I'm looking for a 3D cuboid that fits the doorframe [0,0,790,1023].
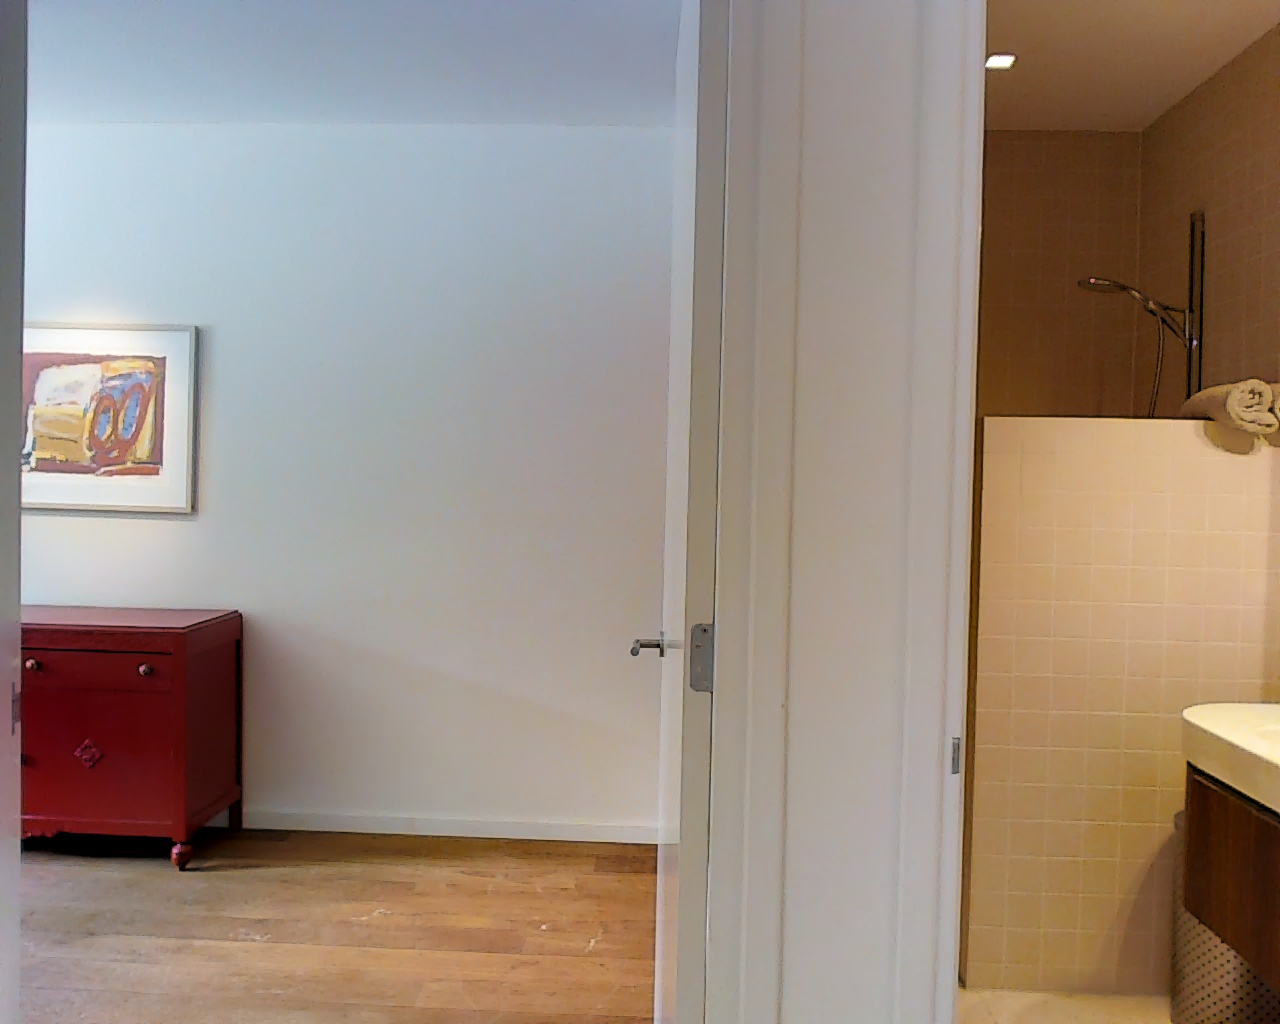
[{"bbox_3d":[-0.370,0.140,1.410,1.060,2.380,0.290,1,1,2],"label":"doorframe"}]
